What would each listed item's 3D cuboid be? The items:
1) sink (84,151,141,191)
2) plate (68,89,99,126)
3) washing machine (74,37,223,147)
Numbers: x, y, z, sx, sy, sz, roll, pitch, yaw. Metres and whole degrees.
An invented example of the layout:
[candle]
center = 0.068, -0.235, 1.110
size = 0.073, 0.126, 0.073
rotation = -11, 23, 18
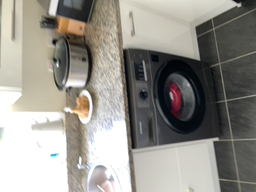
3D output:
[sink]
center = -0.110, 0.620, 1.390
size = 0.420, 0.150, 0.490
rotation = -17, 75, 50
[plate]
center = -0.330, 0.090, 1.530
size = 0.300, 0.080, 0.220
rotation = -17, 75, 50
[washing machine]
center = 0.150, 0.040, 1.690
size = 0.680, 0.900, 0.600
rotation = -19, 74, 50
